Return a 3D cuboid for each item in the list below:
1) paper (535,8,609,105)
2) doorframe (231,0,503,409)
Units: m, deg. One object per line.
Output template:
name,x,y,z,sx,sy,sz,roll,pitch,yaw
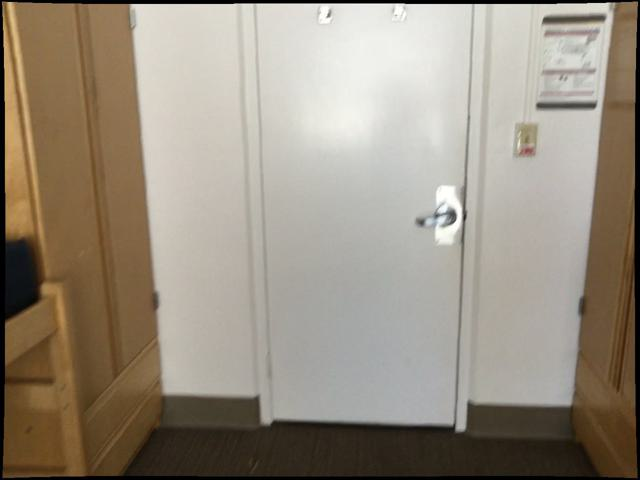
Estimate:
paper,0.899,-0.651,2.070,0.220,0.320,0.040,0,13,6
doorframe,0.180,-0.270,2.260,0.979,1.992,0.060,0,13,6
